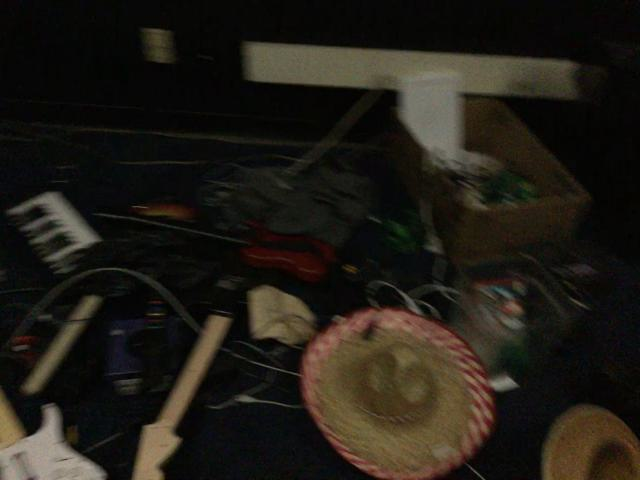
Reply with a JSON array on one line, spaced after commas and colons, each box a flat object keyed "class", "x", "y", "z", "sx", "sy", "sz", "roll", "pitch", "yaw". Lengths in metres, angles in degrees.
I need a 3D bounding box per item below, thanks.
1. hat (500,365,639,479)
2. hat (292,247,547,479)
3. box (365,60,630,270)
[{"class": "hat", "x": 0.560, "y": 0.460, "z": 1.180, "sx": 0.270, "sy": 0.180, "sz": 0.350, "roll": 3, "pitch": 41, "yaw": -1}, {"class": "hat", "x": 0.200, "y": 0.280, "z": 1.400, "sx": 0.500, "sy": 0.200, "sz": 0.530, "roll": 3, "pitch": 41, "yaw": -1}, {"class": "box", "x": 0.490, "y": -0.260, "z": 1.850, "sx": 0.640, "sy": 0.350, "sz": 0.610, "roll": 3, "pitch": 41, "yaw": -1}]
